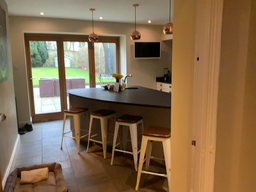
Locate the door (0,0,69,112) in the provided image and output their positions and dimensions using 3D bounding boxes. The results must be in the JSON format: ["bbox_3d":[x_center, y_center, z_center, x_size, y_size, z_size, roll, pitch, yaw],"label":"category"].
[{"bbox_3d":[-2.510,-0.830,4.360,2.480,2.260,0.210,-7,9,-40],"label":"door"}]
